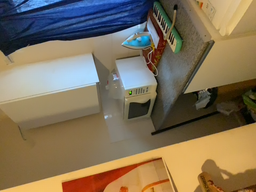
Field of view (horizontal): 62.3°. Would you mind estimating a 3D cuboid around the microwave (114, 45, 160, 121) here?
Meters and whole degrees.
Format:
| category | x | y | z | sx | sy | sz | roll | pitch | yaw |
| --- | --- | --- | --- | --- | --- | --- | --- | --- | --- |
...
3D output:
| category | x | y | z | sx | sy | sz | roll | pitch | yaw |
| --- | --- | --- | --- | --- | --- | --- | --- | --- | --- |
| microwave | 0.050 | -0.100 | 1.900 | 0.510 | 0.250 | 0.430 | 96 | 159 | -58 |
